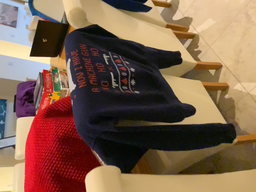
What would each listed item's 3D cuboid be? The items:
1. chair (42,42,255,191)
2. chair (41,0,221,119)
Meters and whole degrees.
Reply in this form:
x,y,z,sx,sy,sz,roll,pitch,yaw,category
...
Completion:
x,y,z,sx,sy,sz,roll,pitch,yaw,category
0.130,0.200,1.200,0.580,1.030,0.460,-53,42,36,chair
0.010,-0.240,1.490,0.580,1.030,0.460,-56,40,34,chair
